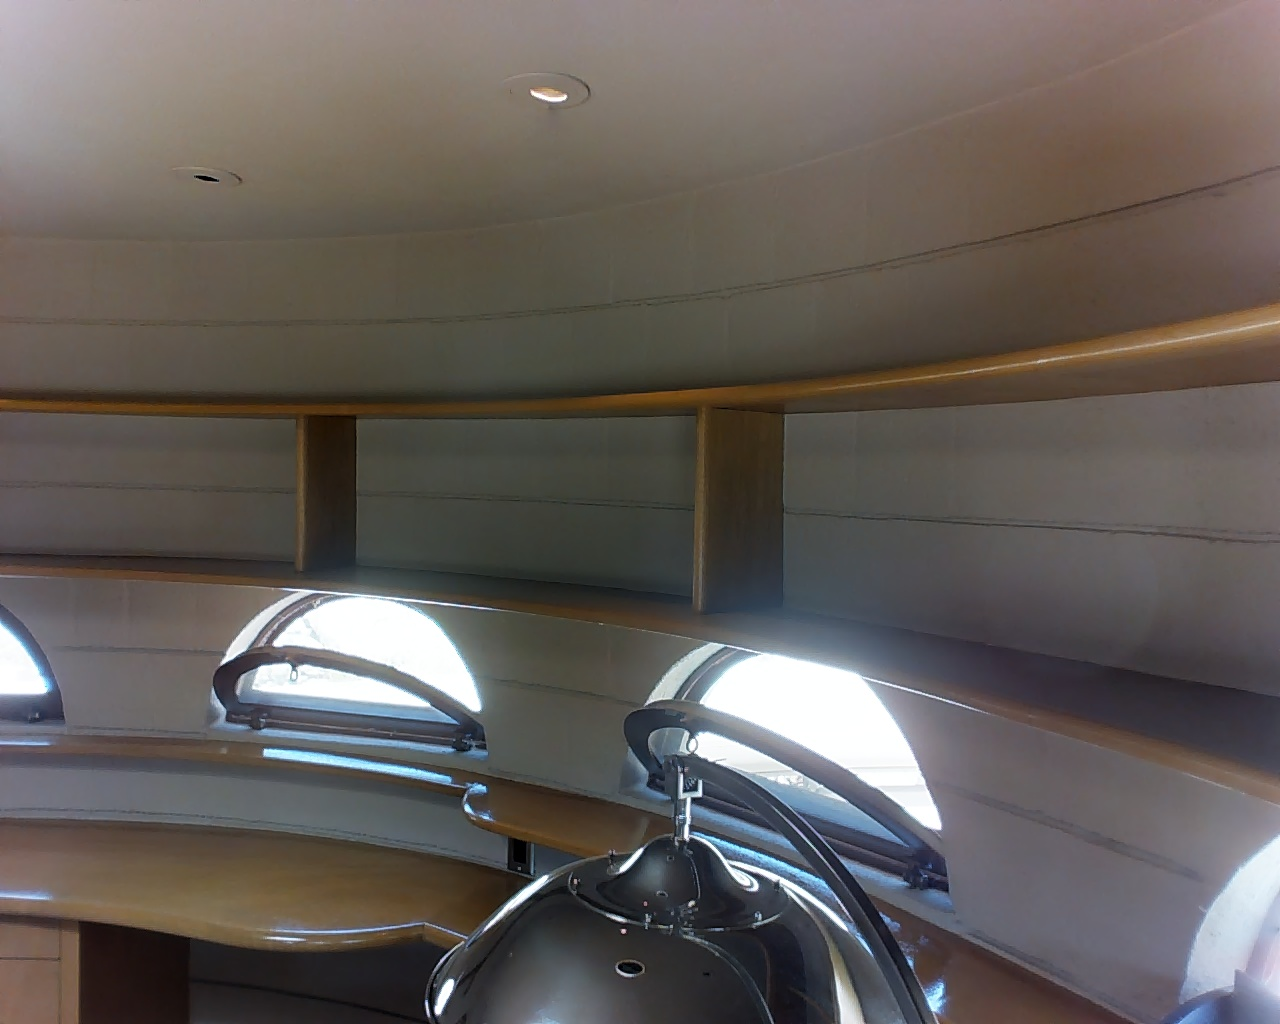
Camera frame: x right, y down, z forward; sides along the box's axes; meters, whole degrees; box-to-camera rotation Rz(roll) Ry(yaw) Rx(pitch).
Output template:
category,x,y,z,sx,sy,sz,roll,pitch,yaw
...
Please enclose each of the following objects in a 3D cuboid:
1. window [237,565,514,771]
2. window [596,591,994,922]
category,x,y,z,sx,sy,sz,roll,pitch,yaw
window,-0.650,0.360,2.570,0.730,0.420,0.070,2,2,21
window,0.240,0.390,1.920,0.170,0.420,0.740,0,2,-45
